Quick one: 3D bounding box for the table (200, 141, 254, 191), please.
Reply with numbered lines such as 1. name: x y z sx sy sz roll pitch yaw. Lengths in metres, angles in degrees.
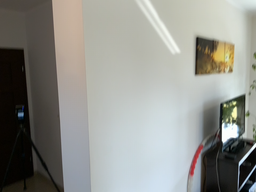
1. table: 1.320 1.080 2.780 0.380 0.680 0.950 4 9 41
